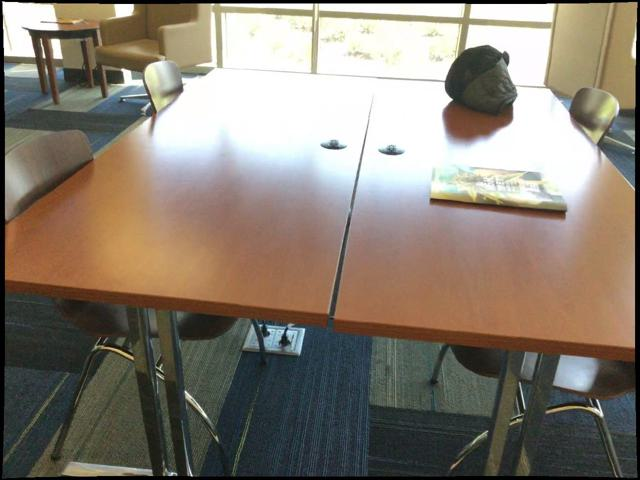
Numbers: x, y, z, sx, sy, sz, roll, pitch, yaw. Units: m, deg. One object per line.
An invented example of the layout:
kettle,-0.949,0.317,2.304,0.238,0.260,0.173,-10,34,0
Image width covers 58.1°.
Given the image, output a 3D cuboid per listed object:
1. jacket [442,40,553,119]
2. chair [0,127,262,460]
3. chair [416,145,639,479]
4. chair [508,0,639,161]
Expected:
jacket,0.688,-0.652,2.310,0.329,0.190,0.400,5,30,2
chair,-0.479,0.150,1.650,0.549,0.761,0.490,5,33,2
chair,0.618,0.241,1.510,0.589,0.802,0.510,5,27,3
chair,1.935,-1.233,3.980,0.738,1.152,0.780,-1,30,-9
